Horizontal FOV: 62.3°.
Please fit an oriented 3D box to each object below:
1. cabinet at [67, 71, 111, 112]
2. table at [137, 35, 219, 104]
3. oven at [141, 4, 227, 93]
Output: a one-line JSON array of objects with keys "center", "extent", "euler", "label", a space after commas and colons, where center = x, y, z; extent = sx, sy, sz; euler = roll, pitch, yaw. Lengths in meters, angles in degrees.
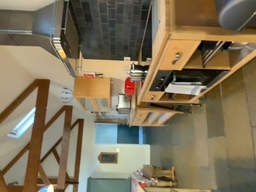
[{"center": [-0.700, -0.030, 4.210], "extent": [1.340, 0.680, 0.440], "euler": [102, 170, -74], "label": "cabinet"}, {"center": [0.580, -0.310, 2.710], "extent": [0.510, 0.880, 0.690], "euler": [102, 170, -74], "label": "table"}, {"center": [0.510, -0.450, 2.190], "extent": [0.560, 0.690, 0.690], "euler": [102, 170, -74], "label": "oven"}]
